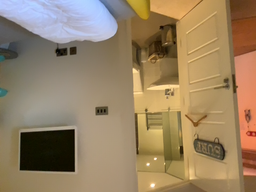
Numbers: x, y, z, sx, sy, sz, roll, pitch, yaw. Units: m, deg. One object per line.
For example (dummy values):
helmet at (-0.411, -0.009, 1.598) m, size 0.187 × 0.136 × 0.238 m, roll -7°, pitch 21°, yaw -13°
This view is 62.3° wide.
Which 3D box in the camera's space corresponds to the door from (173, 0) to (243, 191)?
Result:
door at (0.780, 0.010, 2.250) m, size 0.030 × 2.080 × 0.900 m, roll -1°, pitch 176°, yaw -17°
